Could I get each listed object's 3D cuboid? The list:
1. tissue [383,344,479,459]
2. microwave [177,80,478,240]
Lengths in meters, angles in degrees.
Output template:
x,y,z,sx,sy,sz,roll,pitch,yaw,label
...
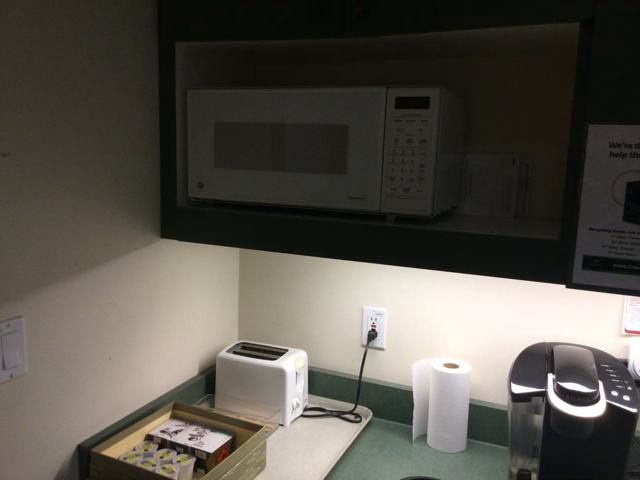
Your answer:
x,y,z,sx,sy,sz,roll,pitch,yaw,label
0.280,0.400,1.460,0.200,0.210,0.120,7,12,24,tissue
0.020,-0.210,1.380,0.610,0.300,0.360,7,12,24,microwave
